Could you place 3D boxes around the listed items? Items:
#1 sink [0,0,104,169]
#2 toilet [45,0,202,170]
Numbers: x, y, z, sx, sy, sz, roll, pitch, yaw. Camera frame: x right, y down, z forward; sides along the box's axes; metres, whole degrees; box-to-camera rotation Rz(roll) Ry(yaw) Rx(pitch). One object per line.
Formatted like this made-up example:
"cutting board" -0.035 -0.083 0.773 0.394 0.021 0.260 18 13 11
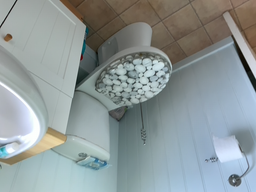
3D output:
"sink" -0.490 -0.030 0.620 0.580 0.220 0.590 -25 136 27
"toilet" -0.040 -0.050 1.280 0.670 0.740 0.410 -26 136 29
